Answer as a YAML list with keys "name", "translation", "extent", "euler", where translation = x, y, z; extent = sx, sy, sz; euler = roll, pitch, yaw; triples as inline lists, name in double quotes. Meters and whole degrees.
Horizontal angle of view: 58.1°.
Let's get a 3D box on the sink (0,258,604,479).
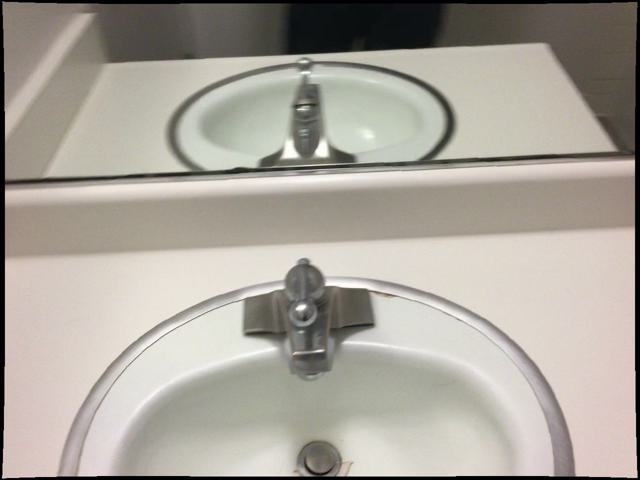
- name: "sink"
  translation: [-0.020, 0.241, 0.620]
  extent: [0.509, 0.260, 0.320]
  euler: [-4, 43, 2]
